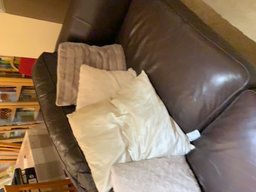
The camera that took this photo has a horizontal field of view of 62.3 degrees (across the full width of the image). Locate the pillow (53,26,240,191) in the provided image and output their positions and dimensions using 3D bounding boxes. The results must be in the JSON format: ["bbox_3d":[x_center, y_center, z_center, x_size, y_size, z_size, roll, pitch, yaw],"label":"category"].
[{"bbox_3d":[0.110,0.380,0.940,0.440,0.380,1.590,-54,52,36],"label":"pillow"}]
